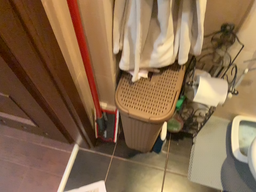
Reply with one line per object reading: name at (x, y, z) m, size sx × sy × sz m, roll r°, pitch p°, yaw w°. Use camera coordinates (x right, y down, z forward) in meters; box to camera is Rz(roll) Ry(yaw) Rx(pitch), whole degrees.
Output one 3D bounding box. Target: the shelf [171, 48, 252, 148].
shelf at (0.420, 0.050, 1.170) m, size 0.220 × 0.560 × 0.270 m, roll 13°, pitch 61°, yaw 7°
